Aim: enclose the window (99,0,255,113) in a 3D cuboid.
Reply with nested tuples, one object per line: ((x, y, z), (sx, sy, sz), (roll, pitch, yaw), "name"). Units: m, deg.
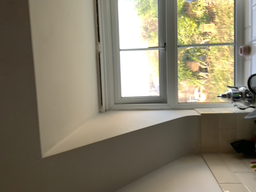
((0.330, -0.350, 1.500), (0.190, 1.020, 0.910), (-49, -43, -81), "window")
